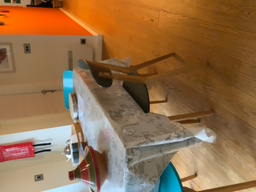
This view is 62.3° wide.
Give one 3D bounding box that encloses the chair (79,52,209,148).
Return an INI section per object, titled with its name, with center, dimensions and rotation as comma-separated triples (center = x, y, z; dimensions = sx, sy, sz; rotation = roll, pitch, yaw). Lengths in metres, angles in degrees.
[chair]
center = 0.090, -0.030, 1.560
dimensions = 0.440, 0.790, 0.510
rotation = -142, 51, -58
